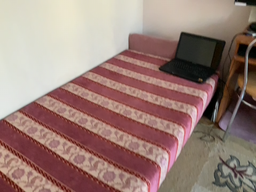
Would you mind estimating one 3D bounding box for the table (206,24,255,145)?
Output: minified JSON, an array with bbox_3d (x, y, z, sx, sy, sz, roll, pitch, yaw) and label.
[{"bbox_3d":[1.060,-0.070,1.620,0.620,0.740,0.500,20,40,28],"label":"table"}]
